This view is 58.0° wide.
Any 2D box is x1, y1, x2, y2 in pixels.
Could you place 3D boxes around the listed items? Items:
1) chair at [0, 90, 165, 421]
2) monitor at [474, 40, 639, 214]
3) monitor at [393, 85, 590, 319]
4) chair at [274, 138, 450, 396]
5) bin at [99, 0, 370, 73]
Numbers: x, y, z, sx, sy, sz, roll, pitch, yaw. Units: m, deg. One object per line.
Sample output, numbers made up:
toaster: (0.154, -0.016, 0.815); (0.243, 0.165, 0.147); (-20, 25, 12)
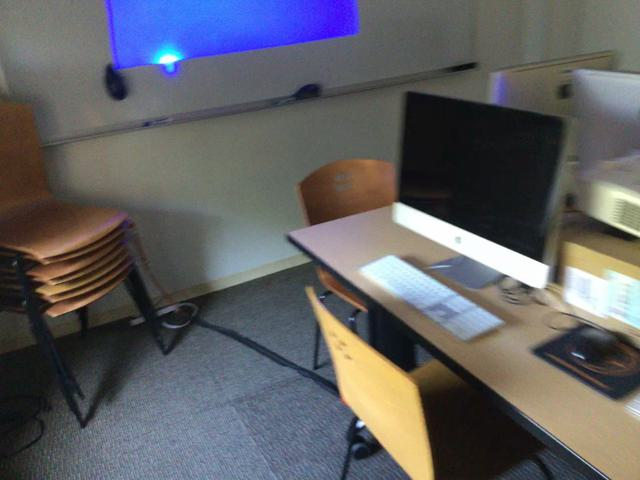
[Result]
chair: (-0.990, 0.040, 2.100); (0.470, 1.060, 0.470); (6, 27, 20)
monitor: (0.760, -0.370, 1.830); (0.500, 0.430, 0.200); (-16, 27, -20)
monitor: (0.380, -0.120, 1.410); (0.120, 0.430, 0.500); (-17, 28, -24)
chair: (0.170, 0.080, 2.190); (0.470, 0.780, 0.410); (-17, 28, -23)
bin: (-0.350, -1.200, 2.500); (1.200, 0.730, 0.150); (-17, 28, -23)
